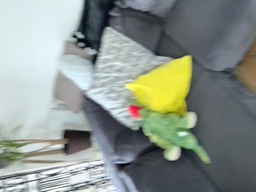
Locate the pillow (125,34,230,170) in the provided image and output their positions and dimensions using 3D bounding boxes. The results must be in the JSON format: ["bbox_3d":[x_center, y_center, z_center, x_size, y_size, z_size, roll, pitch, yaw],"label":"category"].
[{"bbox_3d":[0.260,0.000,1.530,0.680,0.290,0.700,-123,36,-55],"label":"pillow"}]
